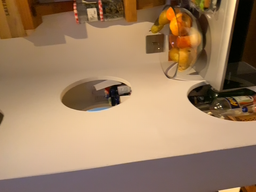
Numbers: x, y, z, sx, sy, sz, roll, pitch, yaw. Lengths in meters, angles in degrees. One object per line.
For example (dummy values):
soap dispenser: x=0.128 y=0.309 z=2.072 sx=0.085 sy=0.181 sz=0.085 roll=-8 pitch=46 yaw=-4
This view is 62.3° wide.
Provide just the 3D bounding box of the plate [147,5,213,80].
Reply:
plate: x=0.190 y=-0.230 z=0.870 sx=0.250 sy=0.170 sz=0.230 roll=-106 pitch=11 yaw=-60
